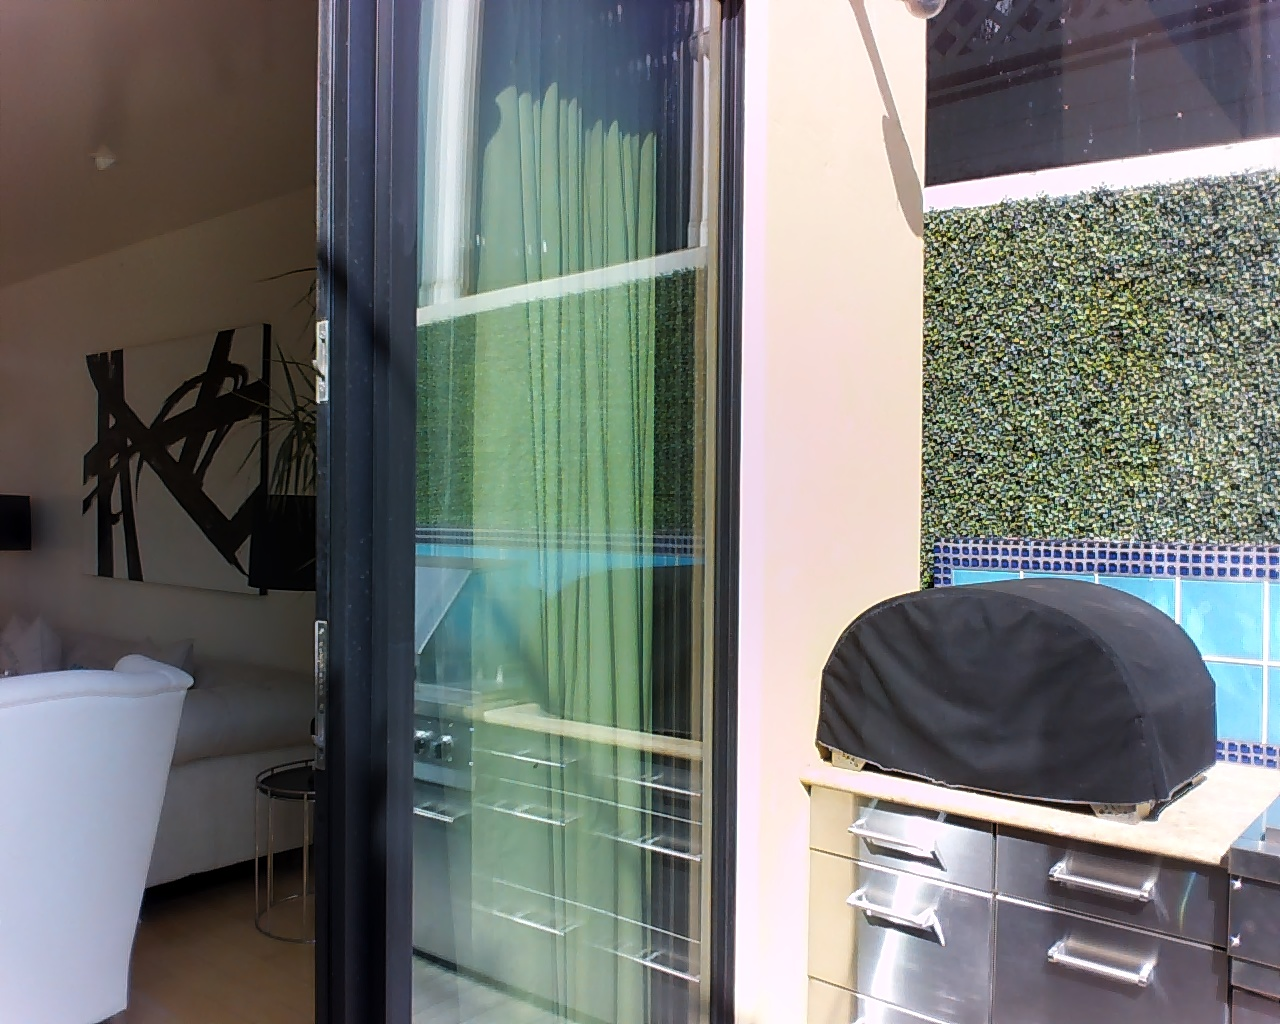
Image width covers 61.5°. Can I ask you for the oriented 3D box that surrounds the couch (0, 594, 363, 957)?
[{"bbox_3d":[-2.699,0.970,4.950,3.149,0.930,1.130,1,0,40],"label":"couch"}]
